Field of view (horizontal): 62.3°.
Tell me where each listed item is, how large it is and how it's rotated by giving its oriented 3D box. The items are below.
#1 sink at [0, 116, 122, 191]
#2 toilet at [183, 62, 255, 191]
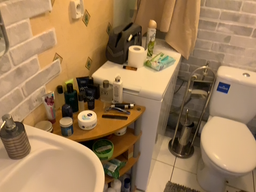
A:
[{"bbox_3d":[-0.320,0.360,0.600,0.410,0.190,0.580,15,37,15],"label":"sink"},{"bbox_3d":[0.690,0.270,1.480,0.360,0.750,0.650,15,37,15],"label":"toilet"}]
